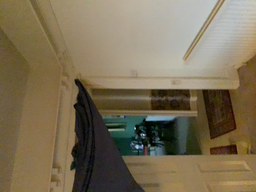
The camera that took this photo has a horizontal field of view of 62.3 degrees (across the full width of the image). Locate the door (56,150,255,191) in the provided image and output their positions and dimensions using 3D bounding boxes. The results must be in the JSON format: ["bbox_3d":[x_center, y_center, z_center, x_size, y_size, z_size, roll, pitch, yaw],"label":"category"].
[{"bbox_3d":[0.420,0.860,1.920,0.940,2.090,0.100,-98,9,-63],"label":"door"}]
